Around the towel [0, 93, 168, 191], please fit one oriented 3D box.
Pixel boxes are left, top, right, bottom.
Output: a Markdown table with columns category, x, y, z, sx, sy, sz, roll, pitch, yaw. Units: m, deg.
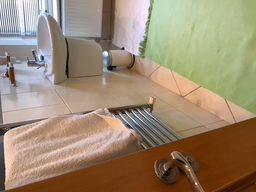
| category | x | y | z | sx | sy | sz | roll | pitch | yaw |
| --- | --- | --- | --- | --- | --- | --- | --- | --- | --- |
| towel | -0.210 | 0.160 | 0.790 | 0.430 | 0.540 | 0.150 | 35 | 125 | 51 |
